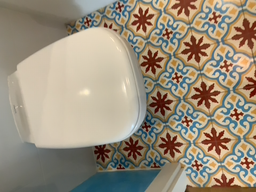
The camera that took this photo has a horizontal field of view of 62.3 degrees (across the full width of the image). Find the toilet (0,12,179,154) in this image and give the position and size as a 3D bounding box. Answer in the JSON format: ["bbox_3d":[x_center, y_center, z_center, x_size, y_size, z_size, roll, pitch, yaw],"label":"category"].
[{"bbox_3d":[-0.140,-0.020,0.850,0.540,0.380,0.360,-10,92,27],"label":"toilet"}]
